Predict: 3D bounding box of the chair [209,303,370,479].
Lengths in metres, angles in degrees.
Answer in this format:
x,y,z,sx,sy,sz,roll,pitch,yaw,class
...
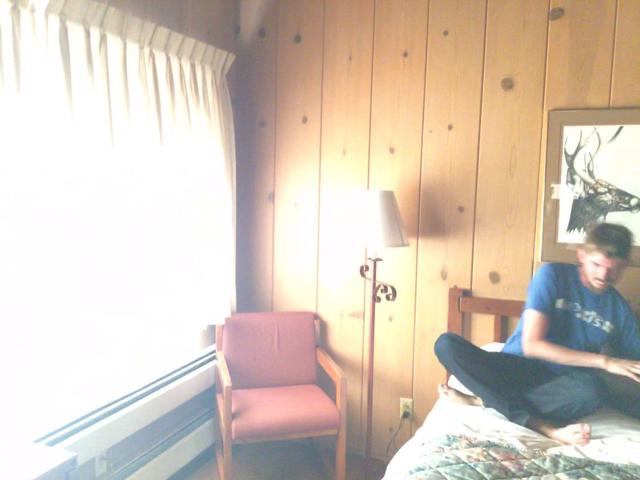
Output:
x,y,z,sx,sy,sz,roll,pitch,yaw,class
-0.170,0.790,2.800,0.640,0.790,0.620,-4,8,-14,chair

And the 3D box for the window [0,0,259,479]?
x,y,z,sx,sy,sz,roll,pitch,yaw,class
-1.000,-0.140,1.960,0.300,1.830,2.450,1,9,24,window

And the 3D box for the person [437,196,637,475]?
x,y,z,sx,sy,sz,roll,pitch,yaw,class
0.830,0.260,2.140,0.580,0.790,0.720,2,9,29,person

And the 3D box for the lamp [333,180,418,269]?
x,y,z,sx,sy,sz,roll,pitch,yaw,class
0.260,-0.080,2.640,0.300,0.370,0.260,2,9,29,lamp
